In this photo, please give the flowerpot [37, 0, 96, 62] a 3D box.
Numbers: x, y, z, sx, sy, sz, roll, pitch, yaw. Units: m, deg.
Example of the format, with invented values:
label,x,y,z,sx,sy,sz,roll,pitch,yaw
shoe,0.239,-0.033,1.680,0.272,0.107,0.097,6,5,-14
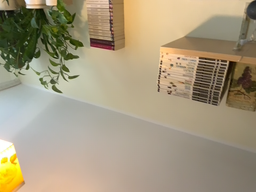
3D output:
label,x,y,z,sx,sy,sz,roll,pitch,yaw
flowerpot,-0.400,-0.500,1.410,0.220,0.460,0.260,15,-151,29
